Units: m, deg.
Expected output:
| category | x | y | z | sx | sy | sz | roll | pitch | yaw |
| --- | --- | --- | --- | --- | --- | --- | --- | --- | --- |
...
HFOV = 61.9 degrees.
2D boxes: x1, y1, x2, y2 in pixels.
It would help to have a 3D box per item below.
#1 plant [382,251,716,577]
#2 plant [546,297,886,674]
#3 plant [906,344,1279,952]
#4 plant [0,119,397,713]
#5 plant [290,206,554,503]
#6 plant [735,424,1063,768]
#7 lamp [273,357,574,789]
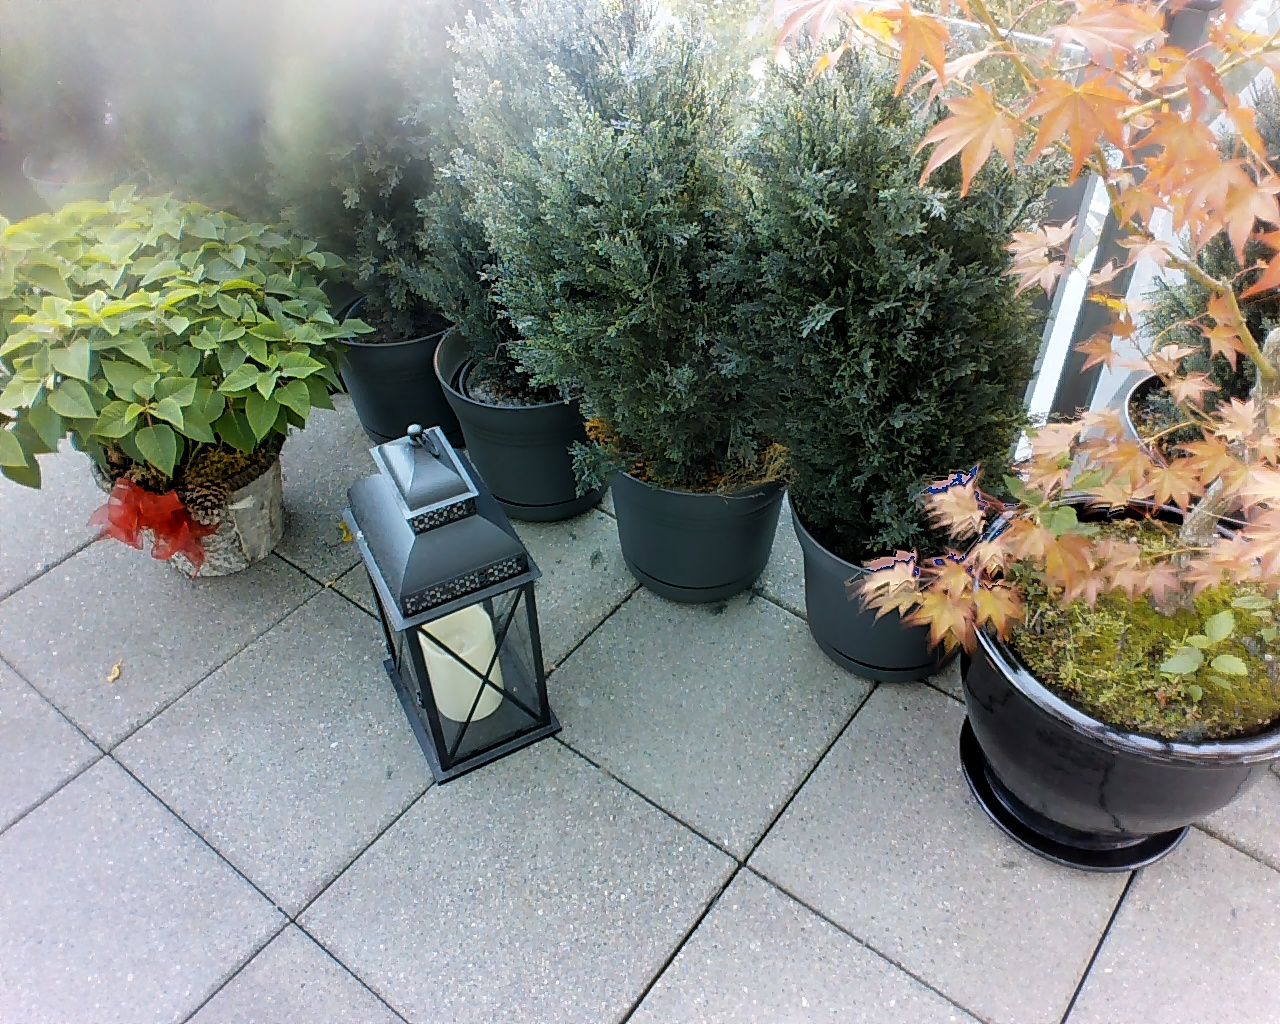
| category | x | y | z | sx | sy | sz | roll | pitch | yaw |
| --- | --- | --- | --- | --- | --- | --- | --- | --- | --- |
| plant | -0.160 | -0.210 | 2.090 | 0.410 | 0.330 | 0.470 | 27 | 49 | 27 |
| plant | 0.130 | -0.060 | 1.890 | 0.410 | 0.400 | 0.390 | 27 | 49 | 27 |
| plant | 0.700 | 0.170 | 1.570 | 0.520 | 0.500 | 0.670 | 6 | 42 | 8 |
| plant | -0.890 | -0.180 | 1.820 | 0.640 | 0.690 | 0.660 | 7 | 42 | 8 |
| plant | -0.430 | -0.330 | 2.200 | 0.340 | 0.410 | 0.340 | 29 | 49 | 29 |
| plant | 0.390 | 0.130 | 1.710 | 0.420 | 0.370 | 0.190 | 27 | 49 | 27 |
| lamp | -0.300 | 0.100 | 1.600 | 0.280 | 0.540 | 0.250 | 32 | 51 | 31 |
